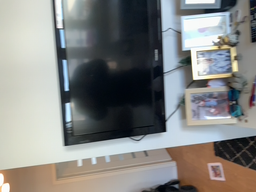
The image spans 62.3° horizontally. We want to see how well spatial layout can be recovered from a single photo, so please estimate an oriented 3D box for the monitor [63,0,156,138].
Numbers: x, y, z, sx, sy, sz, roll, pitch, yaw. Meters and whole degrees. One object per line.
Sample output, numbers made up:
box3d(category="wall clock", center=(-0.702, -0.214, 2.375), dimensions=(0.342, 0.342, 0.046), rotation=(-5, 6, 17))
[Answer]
box3d(category="monitor", center=(-0.080, -0.190, 1.010), dimensions=(0.050, 0.430, 0.750), rotation=(-164, 73, -75))
